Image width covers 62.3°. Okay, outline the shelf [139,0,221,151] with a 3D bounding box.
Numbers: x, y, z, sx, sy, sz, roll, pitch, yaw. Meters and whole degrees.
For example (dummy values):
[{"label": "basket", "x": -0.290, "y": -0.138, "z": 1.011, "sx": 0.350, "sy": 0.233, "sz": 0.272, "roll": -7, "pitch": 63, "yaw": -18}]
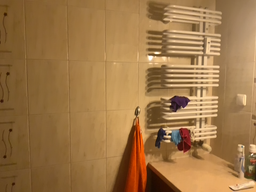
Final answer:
[{"label": "shelf", "x": 0.390, "y": -0.170, "z": 1.660, "sx": 0.530, "sy": 1.100, "sz": 0.250, "roll": -1, "pitch": 6, "yaw": -19}]
